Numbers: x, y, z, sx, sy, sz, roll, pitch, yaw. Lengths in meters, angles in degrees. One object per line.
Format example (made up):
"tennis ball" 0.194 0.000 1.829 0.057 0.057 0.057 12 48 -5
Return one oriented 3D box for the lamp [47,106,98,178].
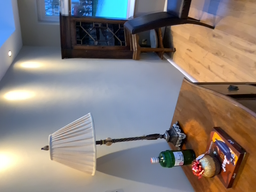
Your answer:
"lamp" -0.330 0.260 1.270 0.300 0.250 0.280 -115 28 -56
